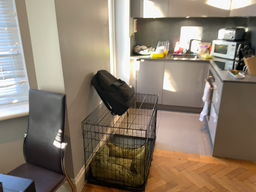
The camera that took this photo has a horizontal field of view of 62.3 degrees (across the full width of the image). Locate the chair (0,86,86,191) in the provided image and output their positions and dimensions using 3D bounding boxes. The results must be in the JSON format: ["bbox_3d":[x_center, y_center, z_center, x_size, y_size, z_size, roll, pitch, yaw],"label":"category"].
[{"bbox_3d":[-0.660,0.510,1.470,0.410,1.000,0.580,9,22,23],"label":"chair"}]
